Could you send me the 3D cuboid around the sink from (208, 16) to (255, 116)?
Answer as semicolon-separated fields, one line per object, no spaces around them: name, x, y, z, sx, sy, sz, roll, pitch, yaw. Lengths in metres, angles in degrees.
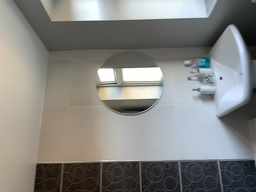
sink;0.830;-0.200;1.620;0.470;0.200;0.610;89;180;-72
